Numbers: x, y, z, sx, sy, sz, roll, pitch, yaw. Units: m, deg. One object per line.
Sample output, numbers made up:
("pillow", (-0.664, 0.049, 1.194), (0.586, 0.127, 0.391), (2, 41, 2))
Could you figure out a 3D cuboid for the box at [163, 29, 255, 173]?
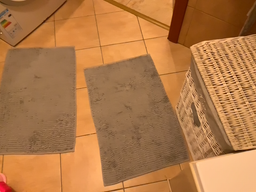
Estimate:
("box", (0.430, 0.070, 1.030), (0.320, 0.560, 0.440), (-12, 64, -6))
